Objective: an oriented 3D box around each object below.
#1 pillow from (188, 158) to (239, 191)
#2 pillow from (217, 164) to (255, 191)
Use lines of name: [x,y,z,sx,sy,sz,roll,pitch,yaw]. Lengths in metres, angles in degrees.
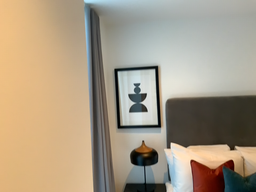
pillow: [0.710,0.720,1.790,0.370,0.330,0.170,1,-9,12]
pillow: [0.890,0.710,1.630,0.340,0.310,0.190,1,-7,7]
